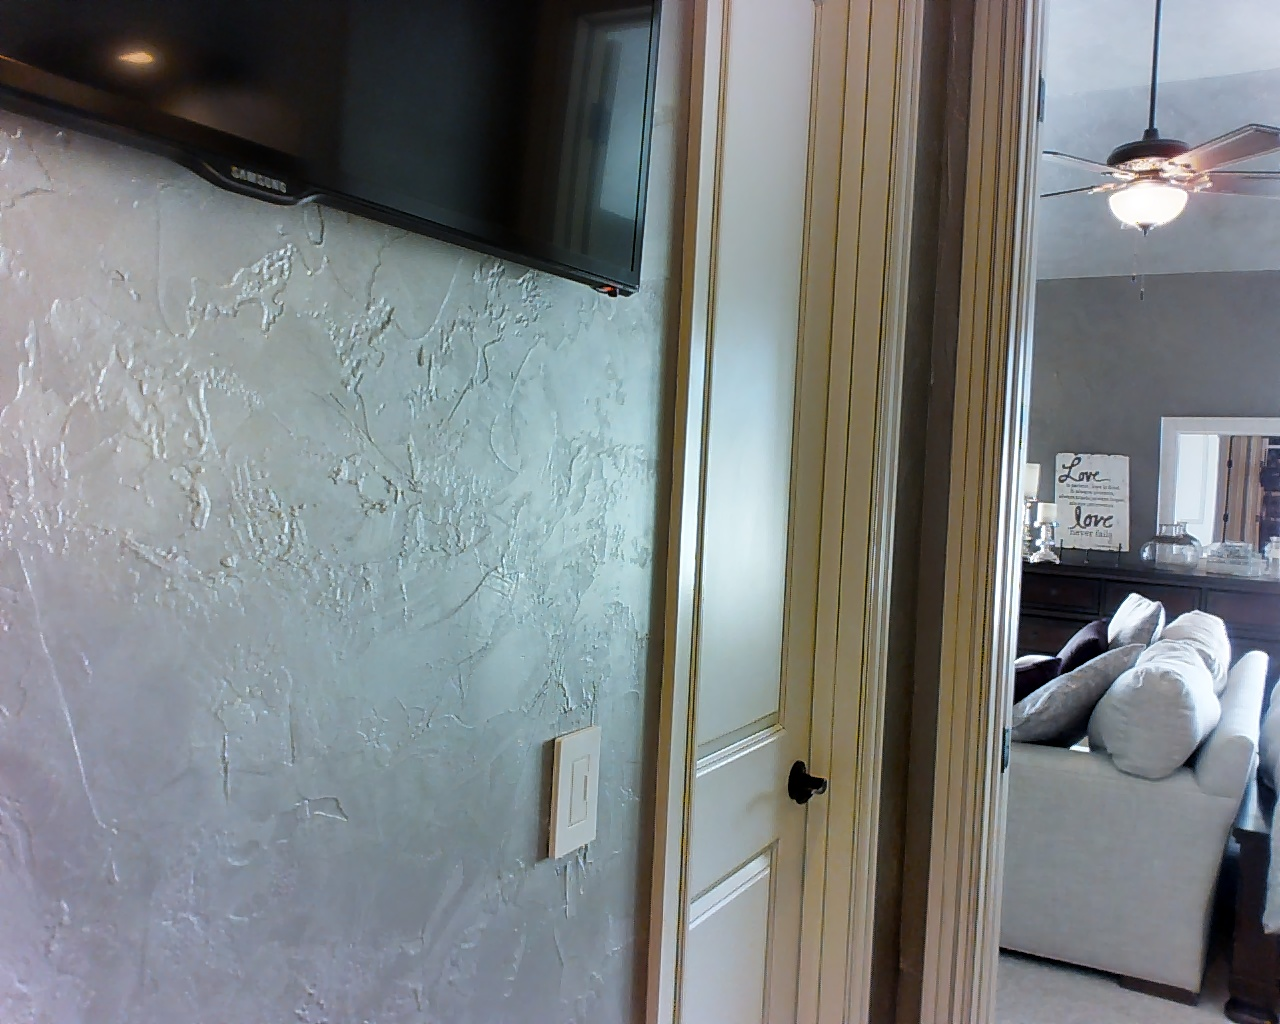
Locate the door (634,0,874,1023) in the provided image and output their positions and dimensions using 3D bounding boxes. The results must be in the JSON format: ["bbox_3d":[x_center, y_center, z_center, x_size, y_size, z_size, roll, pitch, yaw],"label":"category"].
[{"bbox_3d":[0.180,0.200,1.620,0.030,2.410,0.580,4,2,31],"label":"door"}]
